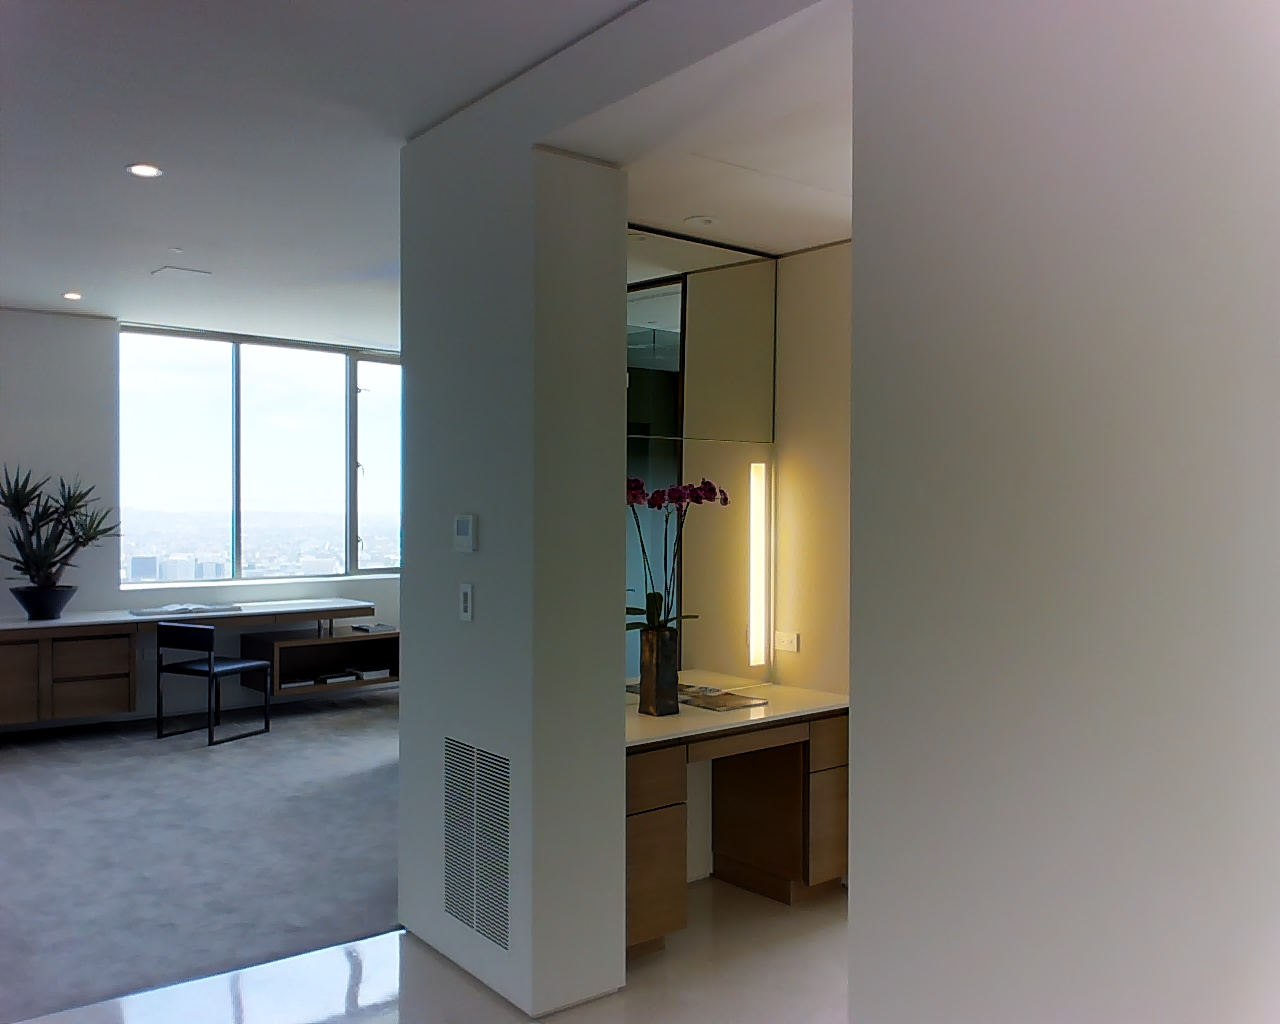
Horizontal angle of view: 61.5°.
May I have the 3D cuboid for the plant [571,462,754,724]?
[{"bbox_3d":[0.090,0.270,3.940,0.620,0.880,0.320,0,1,-42],"label":"plant"}]
